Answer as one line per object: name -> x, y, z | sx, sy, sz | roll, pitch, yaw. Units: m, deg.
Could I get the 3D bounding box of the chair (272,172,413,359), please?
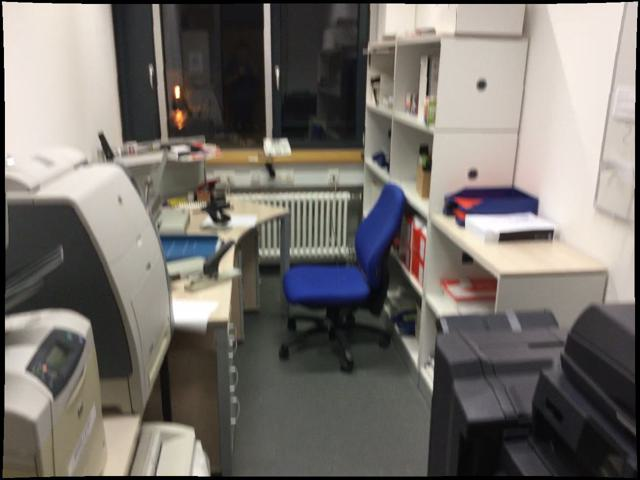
chair -> 0.090, 0.120, 3.220 | 0.659, 0.901, 0.490 | -2, 19, -9

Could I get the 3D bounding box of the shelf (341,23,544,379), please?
shelf -> 0.559, -0.390, 3.530 | 0.500, 1.692, 1.780 | -2, 19, -8

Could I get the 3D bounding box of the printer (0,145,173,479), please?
printer -> -0.719, 0.140, 1.410 | 0.609, 0.641, 0.580 | -2, 19, -8

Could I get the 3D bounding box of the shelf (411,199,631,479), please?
shelf -> 0.769, 0.390, 2.490 | 0.460, 0.941, 0.830 | -2, 19, -8
